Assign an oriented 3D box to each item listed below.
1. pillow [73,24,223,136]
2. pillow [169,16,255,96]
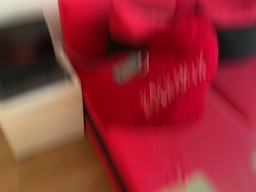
[{"bbox_3d":[0.100,-0.140,1.190,0.660,0.250,0.440,-21,50,-27],"label":"pillow"},{"bbox_3d":[0.680,-0.310,1.480,0.660,0.270,0.350,-20,50,-27],"label":"pillow"}]
